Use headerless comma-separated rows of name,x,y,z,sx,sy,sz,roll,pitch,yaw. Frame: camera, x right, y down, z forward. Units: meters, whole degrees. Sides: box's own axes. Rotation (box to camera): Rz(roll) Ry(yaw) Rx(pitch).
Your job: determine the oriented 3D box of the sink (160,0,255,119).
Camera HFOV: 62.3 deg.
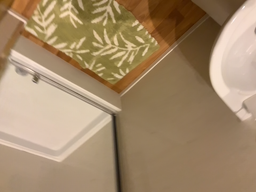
sink,0.480,-0.230,0.740,0.440,0.210,0.540,32,121,-32
